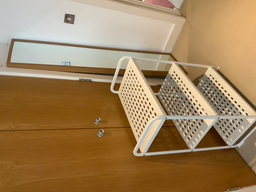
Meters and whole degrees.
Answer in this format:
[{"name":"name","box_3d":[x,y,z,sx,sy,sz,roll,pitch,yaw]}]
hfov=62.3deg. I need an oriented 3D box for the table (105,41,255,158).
[{"name":"table","box_3d":[0.360,-0.010,1.610,0.800,0.850,0.360,-116,37,-45]}]
